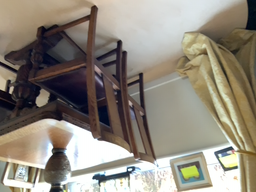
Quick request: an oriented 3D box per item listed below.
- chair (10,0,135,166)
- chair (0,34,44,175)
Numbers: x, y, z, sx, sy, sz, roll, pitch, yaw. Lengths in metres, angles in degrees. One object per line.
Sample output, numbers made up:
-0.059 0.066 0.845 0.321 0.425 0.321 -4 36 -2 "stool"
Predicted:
-0.300 -0.070 1.380 0.490 0.870 0.460 -15 148 17 "chair"
-1.000 0.070 1.520 0.480 0.870 0.450 -22 146 26 "chair"
